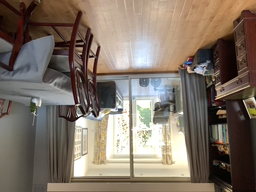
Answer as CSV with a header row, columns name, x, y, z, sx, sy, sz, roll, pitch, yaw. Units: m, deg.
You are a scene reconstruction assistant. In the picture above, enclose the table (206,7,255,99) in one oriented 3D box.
name,x,y,z,sx,sy,sz,roll,pitch,yaw
table,1.330,-0.400,2.400,0.510,0.740,0.940,-1,171,1
